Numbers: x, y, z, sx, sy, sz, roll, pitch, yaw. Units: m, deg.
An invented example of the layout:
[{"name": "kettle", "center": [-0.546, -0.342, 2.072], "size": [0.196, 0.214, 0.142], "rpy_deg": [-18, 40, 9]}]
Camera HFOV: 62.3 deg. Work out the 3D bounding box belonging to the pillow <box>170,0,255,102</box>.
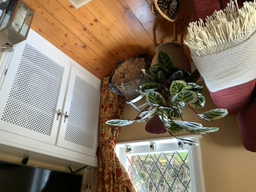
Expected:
[{"name": "pillow", "center": [0.530, -0.210, 1.150], "size": [0.400, 0.210, 0.570], "rpy_deg": [-14, 150, 29]}]
